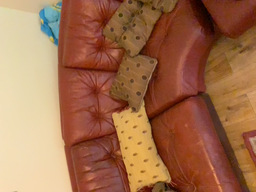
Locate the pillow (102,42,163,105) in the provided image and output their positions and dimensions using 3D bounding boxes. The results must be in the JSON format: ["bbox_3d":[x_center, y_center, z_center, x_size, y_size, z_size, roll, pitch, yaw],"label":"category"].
[{"bbox_3d":[0.040,-0.150,1.520,0.320,0.290,0.160,50,-156,-27],"label":"pillow"}]

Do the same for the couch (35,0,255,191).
[{"bbox_3d":[0.090,0.320,1.540,0.740,1.070,2.830,-3,-112,-41],"label":"couch"}]

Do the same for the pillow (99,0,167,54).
[{"bbox_3d":[0.040,-0.520,1.530,0.360,0.330,0.140,32,-138,-49],"label":"pillow"}]

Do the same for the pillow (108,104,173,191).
[{"bbox_3d":[0.070,0.360,1.500,0.090,0.280,0.530,-3,-115,-52],"label":"pillow"}]
